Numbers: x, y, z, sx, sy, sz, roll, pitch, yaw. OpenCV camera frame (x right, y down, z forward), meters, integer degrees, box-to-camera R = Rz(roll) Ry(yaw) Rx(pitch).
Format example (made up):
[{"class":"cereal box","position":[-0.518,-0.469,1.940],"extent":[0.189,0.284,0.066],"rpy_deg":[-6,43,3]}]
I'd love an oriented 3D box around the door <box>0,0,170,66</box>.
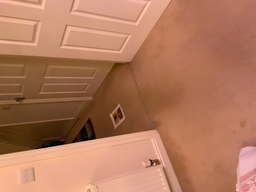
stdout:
[{"class":"door","position":[-0.640,-0.560,1.480],"extent":[0.900,1.900,0.070],"rpy_deg":[-49,53,46]}]
